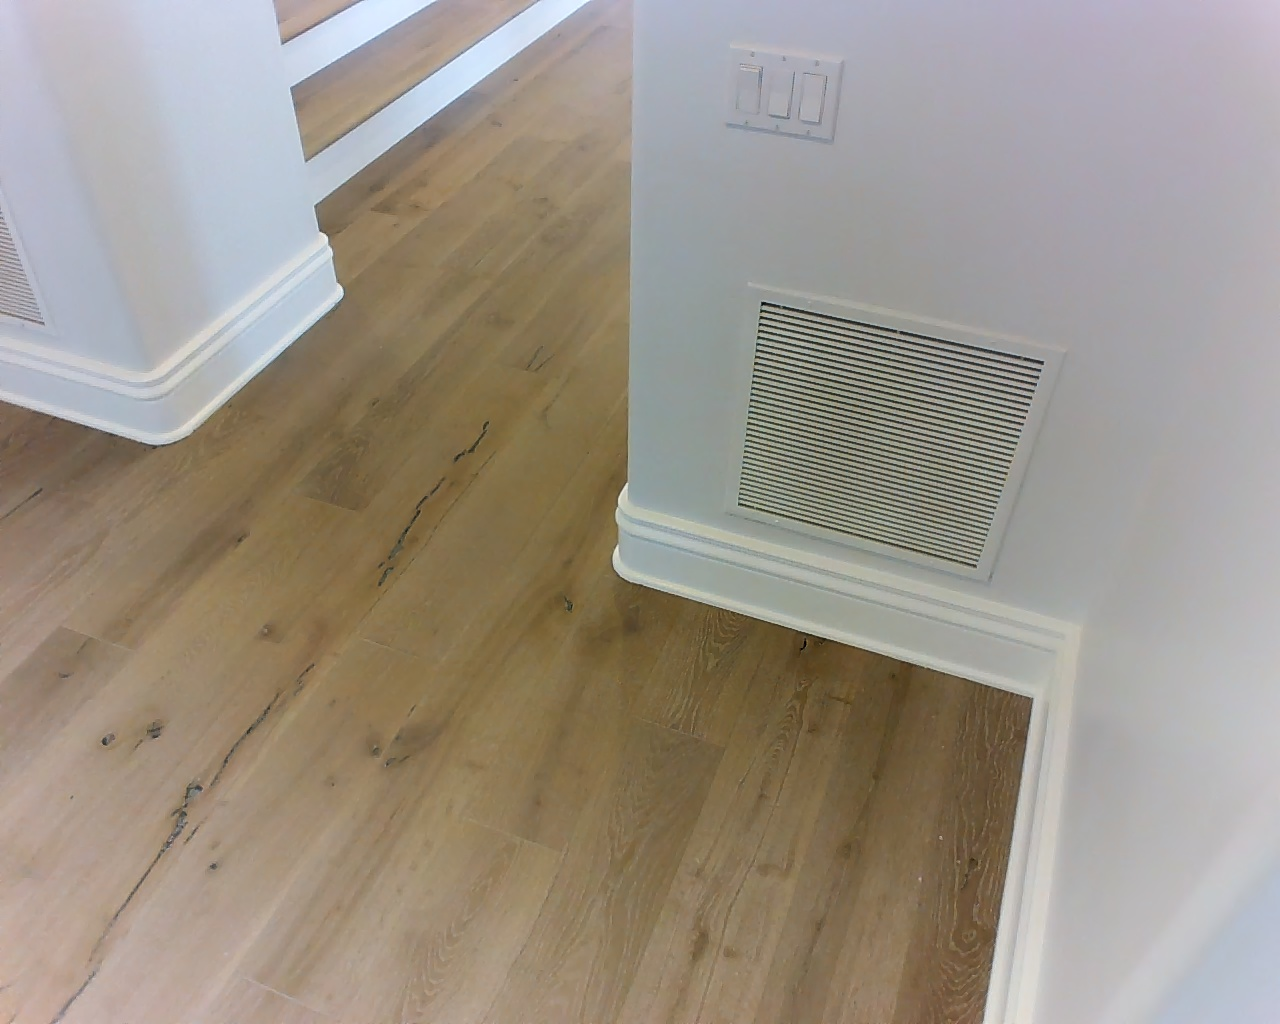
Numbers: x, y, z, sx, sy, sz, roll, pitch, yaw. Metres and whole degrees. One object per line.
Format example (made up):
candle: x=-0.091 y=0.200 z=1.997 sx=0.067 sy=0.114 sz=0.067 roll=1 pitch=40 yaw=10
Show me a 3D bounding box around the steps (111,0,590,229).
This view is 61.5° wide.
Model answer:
steps: x=-0.850 y=-1.970 z=4.220 sx=0.570 sy=0.440 sz=2.640 roll=16 pitch=45 yaw=15
